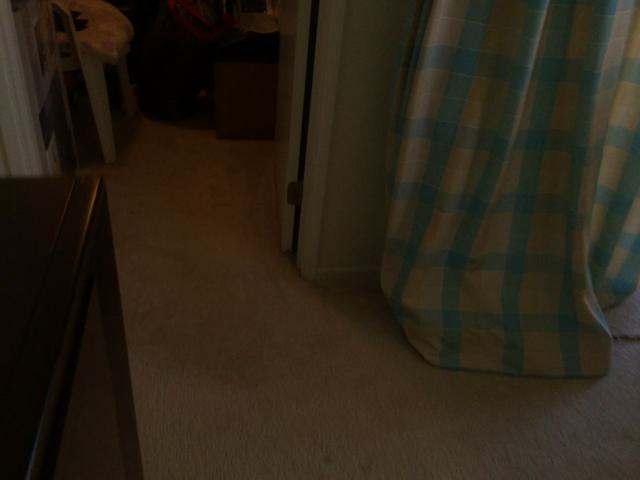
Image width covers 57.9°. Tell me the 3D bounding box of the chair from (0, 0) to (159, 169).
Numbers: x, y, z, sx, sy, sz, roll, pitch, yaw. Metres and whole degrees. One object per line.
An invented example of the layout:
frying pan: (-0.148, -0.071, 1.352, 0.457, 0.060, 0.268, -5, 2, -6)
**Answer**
chair: (-0.980, -0.780, 2.390, 0.520, 0.680, 0.770, -3, 34, -11)
